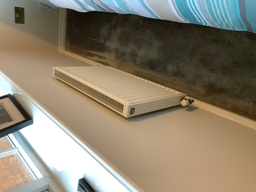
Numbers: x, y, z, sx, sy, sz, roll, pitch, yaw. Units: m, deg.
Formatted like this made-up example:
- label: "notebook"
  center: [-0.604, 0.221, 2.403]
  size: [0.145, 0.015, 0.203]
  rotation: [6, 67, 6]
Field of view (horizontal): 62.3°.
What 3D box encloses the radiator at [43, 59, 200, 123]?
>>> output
- label: "radiator"
  center: [-0.090, -0.100, 1.360]
  size: [0.900, 0.540, 0.100]
  rotation: [24, 114, 42]
